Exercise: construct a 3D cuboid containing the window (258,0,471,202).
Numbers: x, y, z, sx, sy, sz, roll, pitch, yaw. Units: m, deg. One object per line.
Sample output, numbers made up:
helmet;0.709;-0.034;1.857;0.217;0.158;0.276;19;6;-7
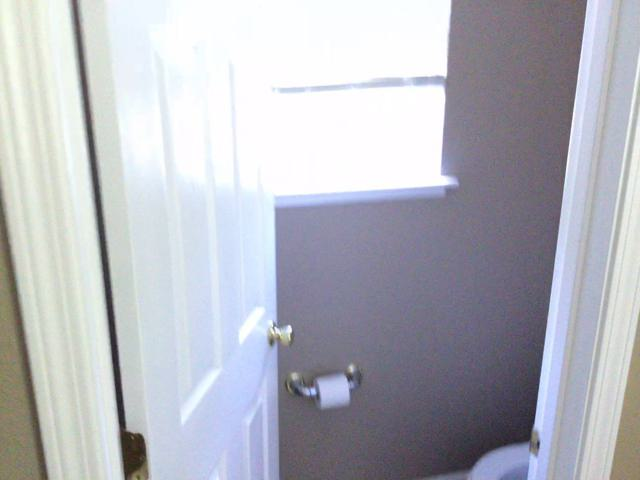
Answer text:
window;0.120;-0.570;1.730;0.560;0.850;0.290;-4;14;-14
